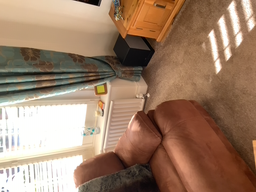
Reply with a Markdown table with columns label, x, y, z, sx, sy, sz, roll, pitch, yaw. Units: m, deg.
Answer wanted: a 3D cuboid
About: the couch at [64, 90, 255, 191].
| label | x | y | z | sx | sy | sz | roll | pitch | yaw |
| --- | --- | --- | --- | --- | --- | --- | --- | --- | --- |
| couch | 0.230 | 0.720 | 1.600 | 1.000 | 0.980 | 1.130 | -60 | 45 | 39 |
